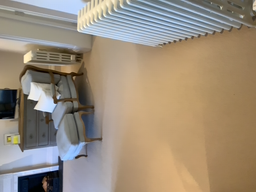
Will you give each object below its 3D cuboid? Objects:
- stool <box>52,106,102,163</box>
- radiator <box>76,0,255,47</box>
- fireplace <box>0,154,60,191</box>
[{"bbox_3d":[-0.820,0.600,3.290,0.770,0.470,0.540,-51,49,43],"label":"stool"},{"bbox_3d":[0.210,-0.510,1.360,0.950,0.770,0.190,10,98,56],"label":"radiator"},{"bbox_3d":[-2.220,1.960,4.670,0.310,1.290,1.120,7,96,57],"label":"fireplace"}]
